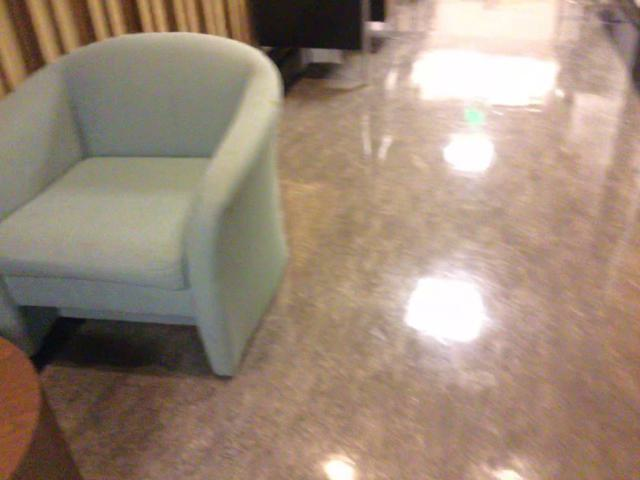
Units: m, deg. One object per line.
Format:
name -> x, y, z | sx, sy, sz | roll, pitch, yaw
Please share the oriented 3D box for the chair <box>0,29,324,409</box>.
chair -> -0.550, -0.150, 1.860 | 0.900, 0.800, 0.930 | 4, 33, 13
